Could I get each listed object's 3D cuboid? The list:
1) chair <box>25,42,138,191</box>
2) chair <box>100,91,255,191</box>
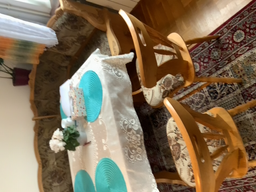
[{"bbox_3d":[-0.600,0.320,2.460,0.590,0.810,1.700,-36,64,45],"label":"chair"},{"bbox_3d":[0.390,0.270,1.190,0.530,0.870,0.420,-32,66,47],"label":"chair"}]
